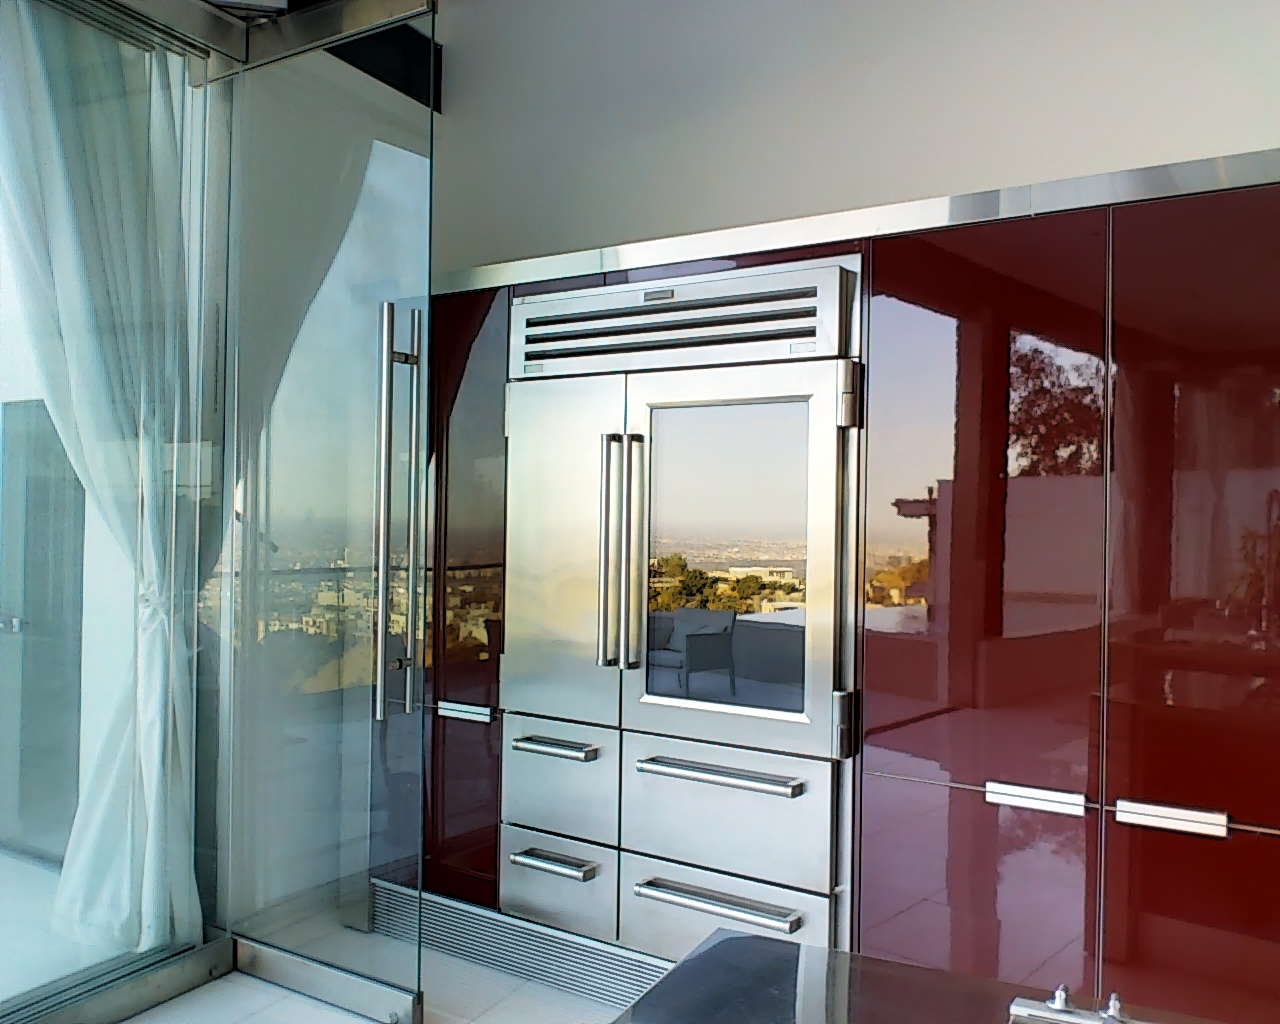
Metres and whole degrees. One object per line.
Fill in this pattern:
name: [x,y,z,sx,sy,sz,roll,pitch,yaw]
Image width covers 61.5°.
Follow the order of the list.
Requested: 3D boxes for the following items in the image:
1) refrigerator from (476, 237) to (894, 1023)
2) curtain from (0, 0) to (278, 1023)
refrigerator: [0.070,0.370,3.160,1.330,2.170,0.090,1,-1,33]
curtain: [-1.580,-0.070,3.460,0.320,3.210,0.700,1,-1,26]
